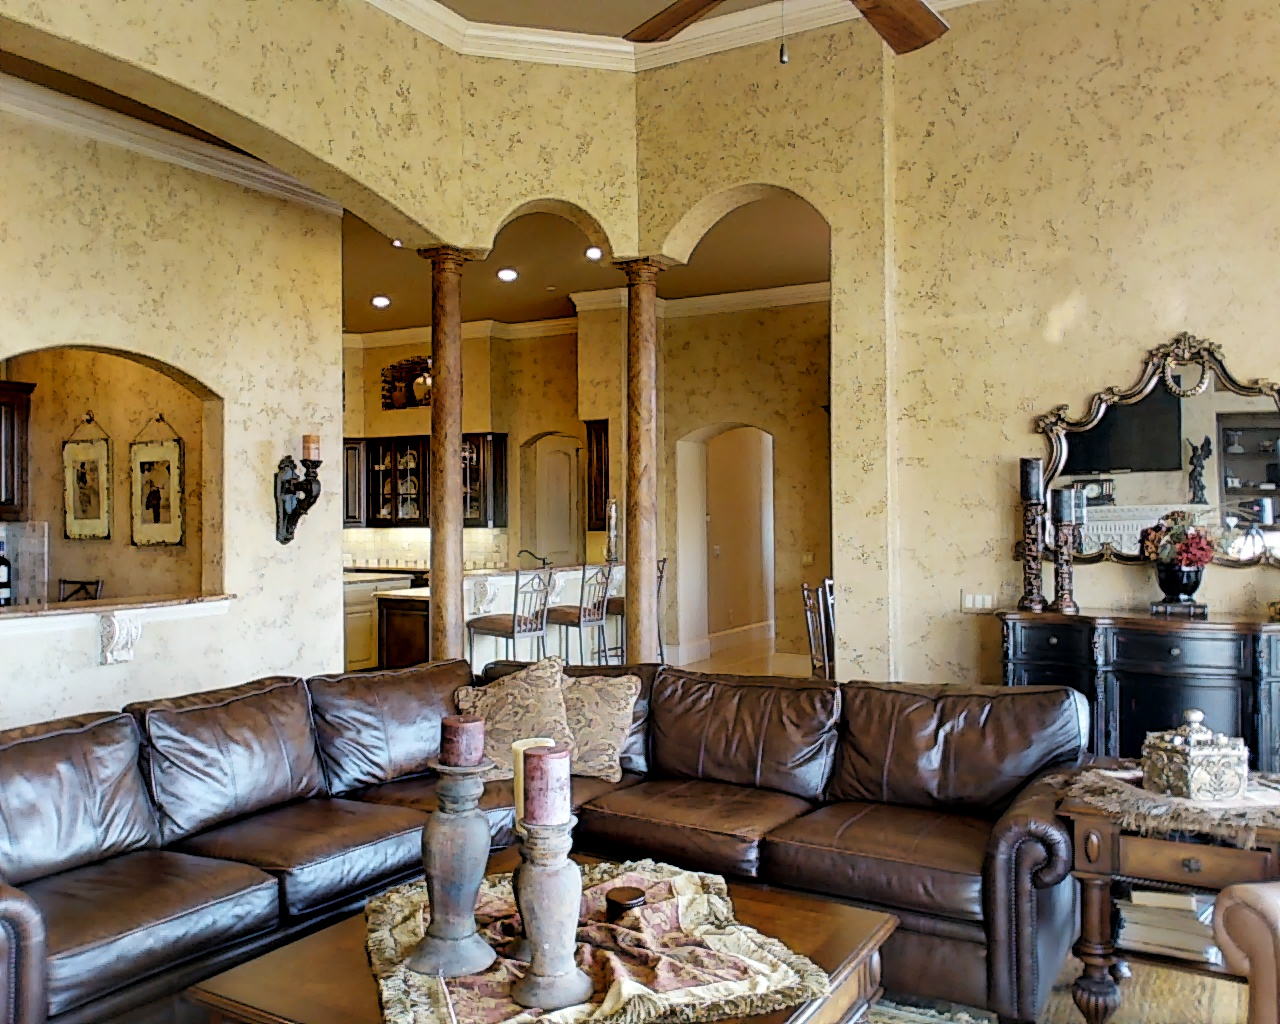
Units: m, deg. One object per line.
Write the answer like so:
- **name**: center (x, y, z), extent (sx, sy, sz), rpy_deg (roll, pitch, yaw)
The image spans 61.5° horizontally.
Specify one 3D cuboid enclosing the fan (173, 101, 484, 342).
- **fan**: center (-1.689, -1.571, 6.110), extent (1.280, 0.970, 1.300), rpy_deg (0, 0, 8)
